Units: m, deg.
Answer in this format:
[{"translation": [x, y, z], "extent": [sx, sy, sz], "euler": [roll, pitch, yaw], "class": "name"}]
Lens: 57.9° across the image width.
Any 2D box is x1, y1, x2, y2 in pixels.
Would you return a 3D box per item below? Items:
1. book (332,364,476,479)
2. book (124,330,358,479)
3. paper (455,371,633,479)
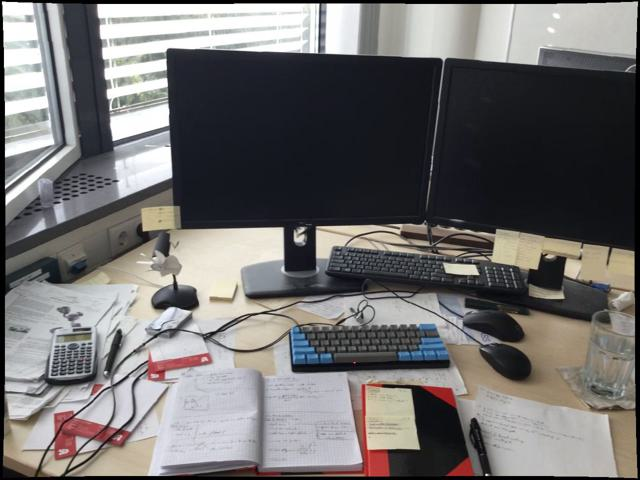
[{"translation": [0.140, 0.290, 0.890], "extent": [0.190, 0.020, 0.250], "euler": [8, 26, 12], "class": "book"}, {"translation": [-0.100, 0.260, 0.940], "extent": [0.320, 0.030, 0.320], "euler": [4, 25, 3], "class": "book"}, {"translation": [0.330, 0.330, 0.850], "extent": [0.230, 0.030, 0.330], "euler": [12, 27, 20], "class": "paper"}]
